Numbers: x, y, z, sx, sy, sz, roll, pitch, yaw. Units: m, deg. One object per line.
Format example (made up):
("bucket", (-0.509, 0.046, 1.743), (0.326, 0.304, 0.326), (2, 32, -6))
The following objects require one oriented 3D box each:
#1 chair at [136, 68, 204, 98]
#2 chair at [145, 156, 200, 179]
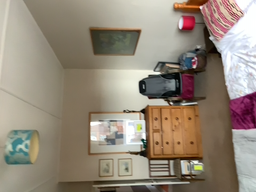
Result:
("chair", (0.760, -0.220, 4.110), (0.870, 1.070, 0.500), (-179, 90, -84))
("chair", (0.820, 1.340, 4.030), (0.480, 0.900, 0.360), (116, 154, -76))
